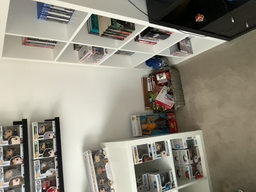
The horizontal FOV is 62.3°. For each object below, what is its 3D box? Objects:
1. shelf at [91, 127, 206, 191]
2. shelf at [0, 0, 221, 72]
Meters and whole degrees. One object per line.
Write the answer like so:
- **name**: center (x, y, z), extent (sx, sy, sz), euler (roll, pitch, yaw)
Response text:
- **shelf**: center (0.220, 1.020, 1.620), extent (0.420, 0.760, 1.460), euler (-18, 76, 55)
- **shelf**: center (-0.160, -0.550, 1.530), extent (0.820, 1.450, 0.440), euler (-20, 74, 53)
